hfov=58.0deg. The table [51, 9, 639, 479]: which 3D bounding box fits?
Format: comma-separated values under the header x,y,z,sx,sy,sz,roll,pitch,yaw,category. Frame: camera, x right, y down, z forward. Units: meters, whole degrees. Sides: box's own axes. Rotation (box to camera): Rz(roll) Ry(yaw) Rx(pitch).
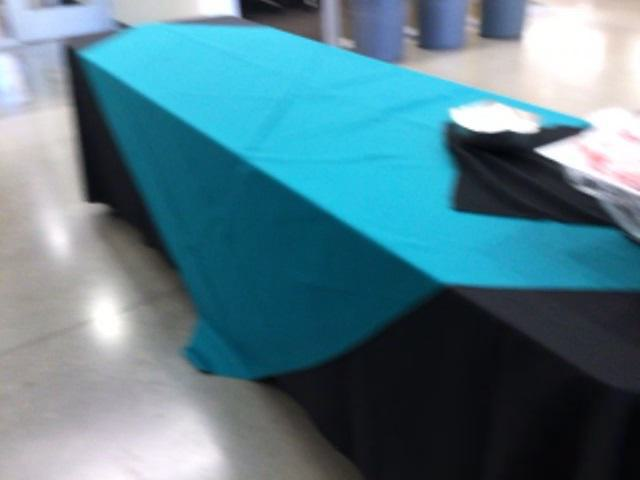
x,y,z,sx,sy,sz,roll,pitch,yaw,category
0.590,0.340,1.000,0.890,0.910,4.630,-16,32,-30,table
